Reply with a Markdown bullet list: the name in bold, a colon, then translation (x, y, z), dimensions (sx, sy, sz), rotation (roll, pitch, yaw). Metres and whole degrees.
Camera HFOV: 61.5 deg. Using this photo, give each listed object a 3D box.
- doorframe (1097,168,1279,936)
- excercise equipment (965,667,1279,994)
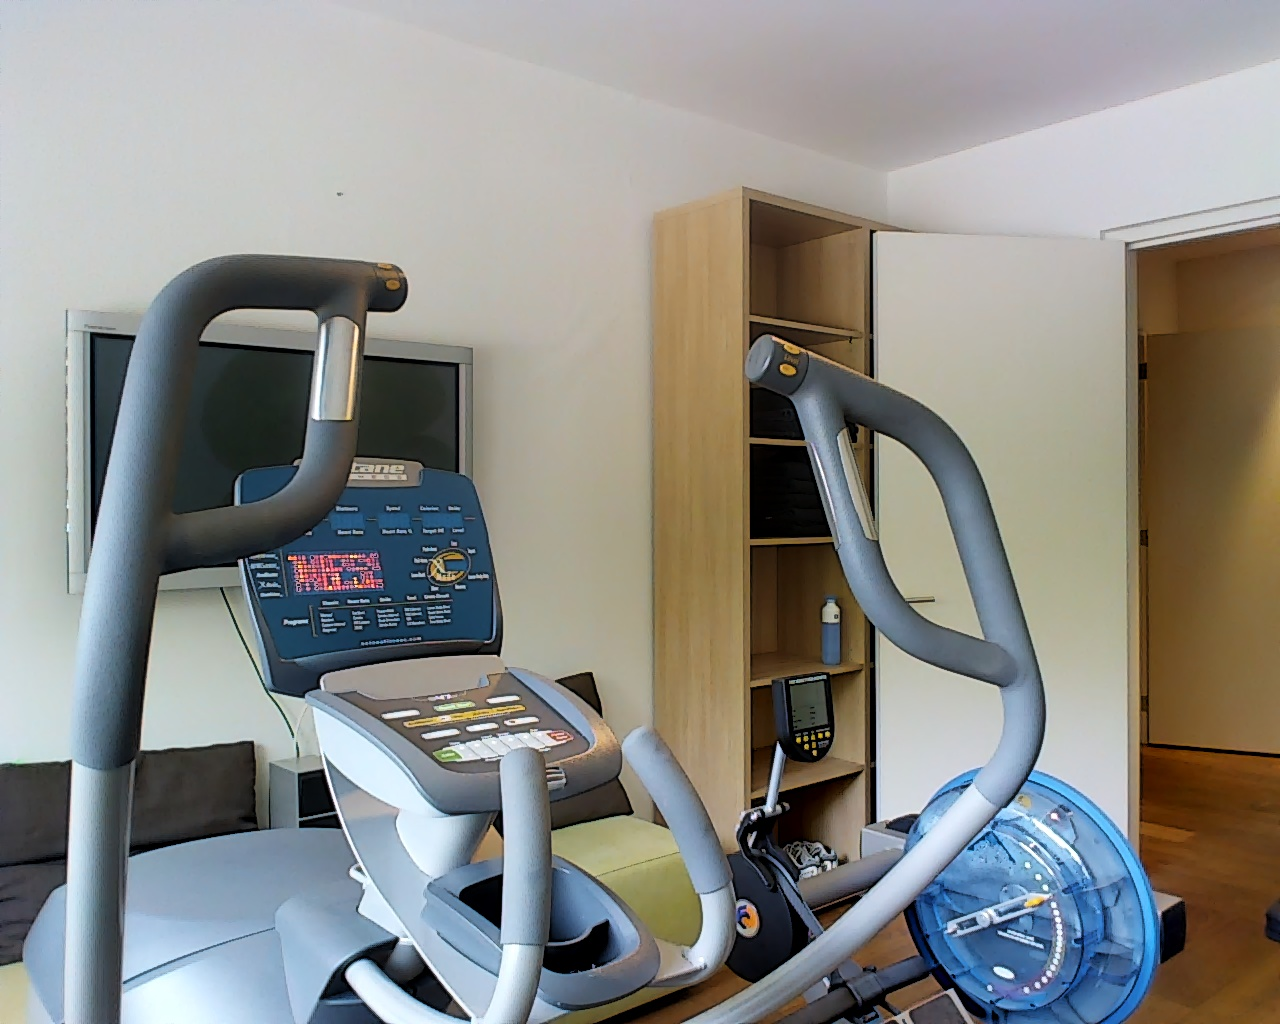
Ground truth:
- **doorframe**: translation (2.080, 0.130, 3.520), dimensions (0.230, 2.430, 1.080), rotation (-1, 1, -40)
- **excercise equipment**: translation (2.100, 1.030, 3.530), dimensions (0.820, 0.760, 1.820), rotation (-1, 1, -40)
